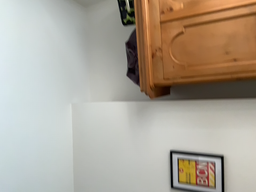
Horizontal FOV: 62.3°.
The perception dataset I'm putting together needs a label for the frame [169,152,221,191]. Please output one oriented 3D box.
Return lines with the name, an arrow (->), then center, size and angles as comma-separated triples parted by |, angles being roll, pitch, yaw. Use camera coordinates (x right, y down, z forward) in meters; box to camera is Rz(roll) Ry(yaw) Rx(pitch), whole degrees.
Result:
frame -> 0.560, 0.650, 1.790 | 0.060, 0.410, 0.300 | 0, -91, -63
